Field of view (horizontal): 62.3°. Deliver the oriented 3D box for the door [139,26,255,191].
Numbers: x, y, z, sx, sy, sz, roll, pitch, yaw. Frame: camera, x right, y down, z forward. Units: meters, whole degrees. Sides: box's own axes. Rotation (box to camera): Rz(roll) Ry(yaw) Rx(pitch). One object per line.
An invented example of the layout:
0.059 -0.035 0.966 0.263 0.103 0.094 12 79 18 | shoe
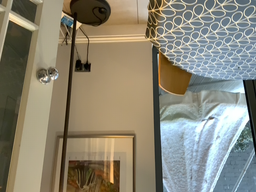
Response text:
1.630 0.410 1.910 3.020 2.270 0.270 -1 162 2 | door
